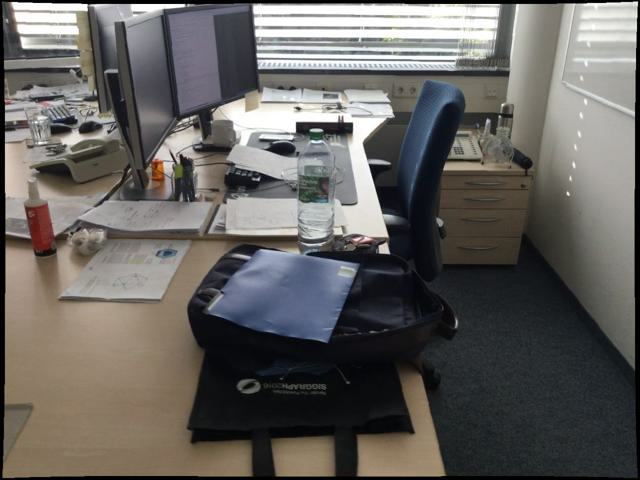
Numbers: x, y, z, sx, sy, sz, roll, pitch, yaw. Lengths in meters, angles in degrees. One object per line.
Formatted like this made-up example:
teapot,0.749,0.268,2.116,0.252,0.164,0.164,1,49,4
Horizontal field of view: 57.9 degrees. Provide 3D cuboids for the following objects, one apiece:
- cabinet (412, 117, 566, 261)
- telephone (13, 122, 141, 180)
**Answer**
cabinet,0.799,-0.260,2.880,0.579,0.600,0.420,0,26,0
telephone,-0.789,-0.300,1.920,0.290,0.100,0.310,0,26,0
